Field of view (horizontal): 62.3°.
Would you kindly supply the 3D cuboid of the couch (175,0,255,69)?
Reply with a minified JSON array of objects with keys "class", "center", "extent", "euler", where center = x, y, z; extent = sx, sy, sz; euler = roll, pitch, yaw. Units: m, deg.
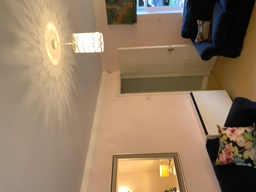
[{"class":"couch","center":[1.320,-1.630,3.100],"extent":[1.000,0.840,2.220],"euler":[-90,-2,-51]}]
